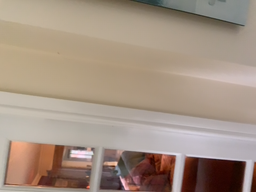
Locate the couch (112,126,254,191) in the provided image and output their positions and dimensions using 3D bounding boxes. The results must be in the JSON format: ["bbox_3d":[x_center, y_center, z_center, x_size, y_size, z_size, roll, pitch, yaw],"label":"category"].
[{"bbox_3d":[0.460,1.060,3.120,2.440,0.910,0.980,163,115,-76],"label":"couch"}]
